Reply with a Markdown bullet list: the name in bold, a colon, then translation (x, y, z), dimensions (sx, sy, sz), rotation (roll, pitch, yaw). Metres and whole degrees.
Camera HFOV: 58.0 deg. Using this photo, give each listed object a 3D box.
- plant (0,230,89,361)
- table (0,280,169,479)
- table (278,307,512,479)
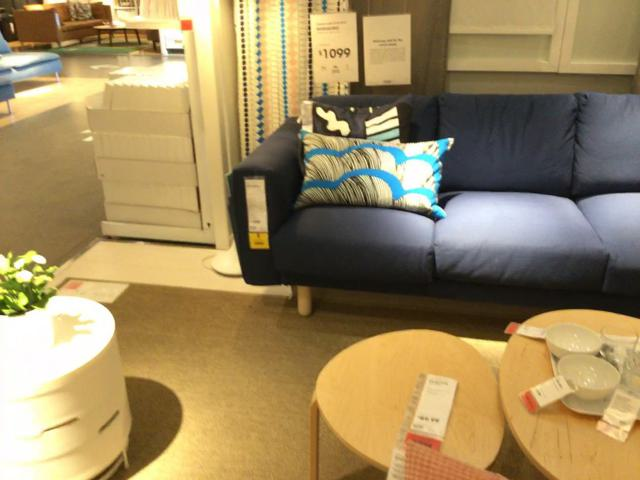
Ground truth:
- **plant**: translation (-0.780, 0.140, 1.530), dimensions (0.190, 0.260, 0.210), rotation (5, 24, 13)
- **table**: translation (-0.790, 0.440, 1.680), dimensions (0.470, 0.440, 0.470), rotation (5, 24, 13)
- **table**: translation (0.210, 0.510, 1.510), dimensions (0.480, 0.400, 0.540), rotation (5, 24, 13)
